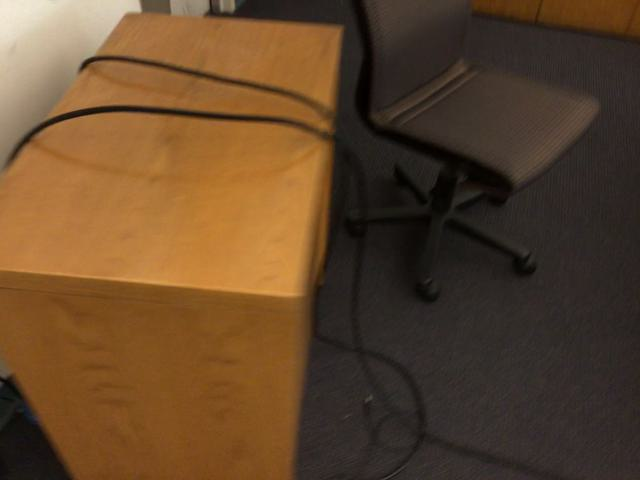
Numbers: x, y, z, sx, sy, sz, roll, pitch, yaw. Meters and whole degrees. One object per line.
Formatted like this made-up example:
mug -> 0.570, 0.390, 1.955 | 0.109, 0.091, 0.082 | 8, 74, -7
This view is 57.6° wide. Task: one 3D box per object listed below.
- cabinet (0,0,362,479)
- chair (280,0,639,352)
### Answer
cabinet -> -0.220, 0.070, 1.270 | 0.560, 0.840, 0.840 | 3, 45, 1
chair -> 0.380, -0.350, 1.650 | 0.760, 0.910, 0.610 | 34, 53, 28
